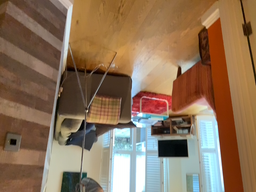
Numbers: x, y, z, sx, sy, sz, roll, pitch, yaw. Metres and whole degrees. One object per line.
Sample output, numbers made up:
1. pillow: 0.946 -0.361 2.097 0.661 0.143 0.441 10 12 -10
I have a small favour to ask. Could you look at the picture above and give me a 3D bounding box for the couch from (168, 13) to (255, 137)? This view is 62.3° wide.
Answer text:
1. couch: 0.970 -0.110 2.140 0.770 0.870 0.890 7 161 -14
